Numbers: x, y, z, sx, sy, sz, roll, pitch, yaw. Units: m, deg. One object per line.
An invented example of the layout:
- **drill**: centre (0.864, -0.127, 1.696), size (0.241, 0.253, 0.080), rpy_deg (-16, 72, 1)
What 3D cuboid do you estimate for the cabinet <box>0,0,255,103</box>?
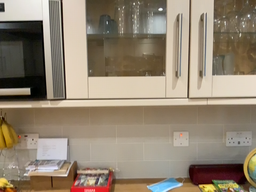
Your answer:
- **cabinet**: centre (-0.640, -0.370, 0.950), size (2.740, 0.780, 0.280), rpy_deg (-1, 6, -2)
